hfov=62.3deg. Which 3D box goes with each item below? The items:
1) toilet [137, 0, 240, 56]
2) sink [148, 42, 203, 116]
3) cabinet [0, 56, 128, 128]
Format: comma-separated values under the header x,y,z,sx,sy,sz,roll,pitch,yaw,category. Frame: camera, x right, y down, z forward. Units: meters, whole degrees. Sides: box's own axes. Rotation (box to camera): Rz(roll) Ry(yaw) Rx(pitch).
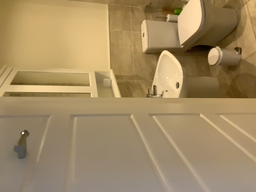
x,y,z,sx,sy,sz,roll,pitch,yaw,category
0.600,-0.790,2.300,0.630,0.830,0.400,130,139,-68,toilet
0.380,-0.170,1.900,0.550,0.180,0.460,-112,27,-57,sink
-0.590,-0.070,1.750,0.850,1.010,0.160,-112,27,-57,cabinet
